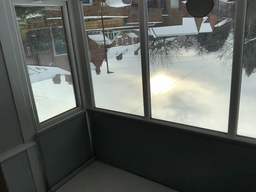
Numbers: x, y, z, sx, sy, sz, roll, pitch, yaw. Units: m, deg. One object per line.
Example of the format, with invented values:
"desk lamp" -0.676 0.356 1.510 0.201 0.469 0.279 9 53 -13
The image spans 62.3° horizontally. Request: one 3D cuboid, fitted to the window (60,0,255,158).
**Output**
"window" 0.490 -0.320 1.860 2.580 1.410 0.340 8 -159 33
